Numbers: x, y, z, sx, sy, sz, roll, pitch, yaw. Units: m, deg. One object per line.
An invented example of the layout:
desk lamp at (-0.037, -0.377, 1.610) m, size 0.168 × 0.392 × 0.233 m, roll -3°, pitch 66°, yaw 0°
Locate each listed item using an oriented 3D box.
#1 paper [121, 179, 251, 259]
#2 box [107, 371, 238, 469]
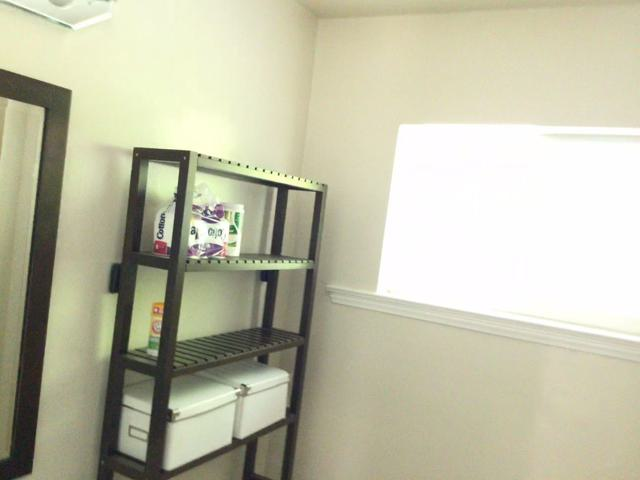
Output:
paper at (-0.340, -0.050, 1.500) m, size 0.200 × 0.180 × 0.250 m, roll 6°, pitch 1°, yaw 27°
box at (-0.380, 0.460, 1.520) m, size 0.200 × 0.150 × 0.260 m, roll 6°, pitch 1°, yaw 27°
